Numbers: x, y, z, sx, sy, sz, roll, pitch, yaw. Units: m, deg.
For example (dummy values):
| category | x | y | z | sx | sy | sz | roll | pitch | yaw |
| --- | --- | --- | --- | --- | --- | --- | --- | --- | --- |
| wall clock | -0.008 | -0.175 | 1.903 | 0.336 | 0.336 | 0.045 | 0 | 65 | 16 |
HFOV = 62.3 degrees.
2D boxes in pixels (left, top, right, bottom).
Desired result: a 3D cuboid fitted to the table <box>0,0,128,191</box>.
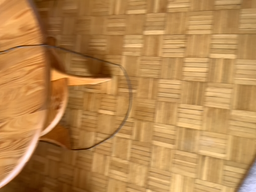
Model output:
| category | x | y | z | sx | sy | sz | roll | pitch | yaw |
| --- | --- | --- | --- | --- | --- | --- | --- | --- | --- |
| table | -0.530 | -0.040 | 1.020 | 0.810 | 0.570 | 0.820 | 7 | 90 | 23 |
